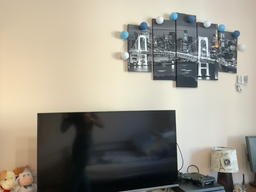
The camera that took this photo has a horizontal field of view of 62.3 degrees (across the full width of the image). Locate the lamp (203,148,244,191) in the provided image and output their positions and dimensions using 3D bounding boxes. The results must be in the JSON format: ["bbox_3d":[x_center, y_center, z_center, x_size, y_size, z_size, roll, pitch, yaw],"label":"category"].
[{"bbox_3d":[0.780,0.610,1.740,0.230,0.320,0.190,0,-3,-17],"label":"lamp"}]
